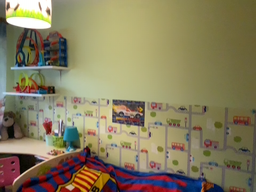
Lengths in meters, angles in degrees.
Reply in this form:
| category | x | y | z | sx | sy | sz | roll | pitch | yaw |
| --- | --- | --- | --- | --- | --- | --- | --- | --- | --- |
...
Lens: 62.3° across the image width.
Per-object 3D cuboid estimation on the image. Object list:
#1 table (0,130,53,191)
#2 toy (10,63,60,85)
| category | x | y | z | sx | sy | sz | roll | pitch | yaw |
| --- | --- | --- | --- | --- | --- | --- | --- | --- | --- |
| table | -1.390 | 0.890 | 2.840 | 0.570 | 0.730 | 0.470 | 2 | 4 | 6 |
| toy | -1.330 | -0.310 | 3.010 | 0.750 | 0.280 | 0.220 | 4 | 5 | 26 |
